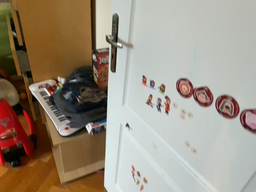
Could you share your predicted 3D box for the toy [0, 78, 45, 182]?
[{"bbox_3d":[-0.880,0.240,1.620,0.320,0.540,0.490,-12,40,-24],"label":"toy"}]
